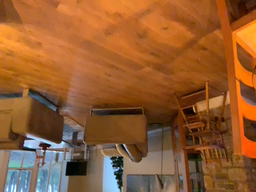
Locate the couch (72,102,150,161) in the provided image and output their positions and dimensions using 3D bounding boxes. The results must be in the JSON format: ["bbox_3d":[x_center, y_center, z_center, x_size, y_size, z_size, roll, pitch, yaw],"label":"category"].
[{"bbox_3d":[-0.190,0.810,4.220,1.160,0.760,1.830,-3,159,7],"label":"couch"}]

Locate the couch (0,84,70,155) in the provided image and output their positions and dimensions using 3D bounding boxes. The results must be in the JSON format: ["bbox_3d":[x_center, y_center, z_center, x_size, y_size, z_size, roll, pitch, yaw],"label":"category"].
[{"bbox_3d":[-2.040,0.450,3.240,1.870,0.760,1.100,-4,159,8],"label":"couch"}]

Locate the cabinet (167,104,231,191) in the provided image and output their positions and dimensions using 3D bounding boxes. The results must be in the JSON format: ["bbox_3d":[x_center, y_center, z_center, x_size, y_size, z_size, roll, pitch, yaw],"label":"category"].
[{"bbox_3d":[1.140,1.170,3.570,0.700,1.910,0.810,-1,159,1],"label":"cabinet"}]
